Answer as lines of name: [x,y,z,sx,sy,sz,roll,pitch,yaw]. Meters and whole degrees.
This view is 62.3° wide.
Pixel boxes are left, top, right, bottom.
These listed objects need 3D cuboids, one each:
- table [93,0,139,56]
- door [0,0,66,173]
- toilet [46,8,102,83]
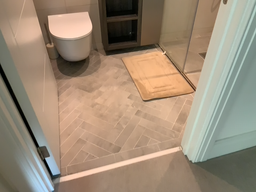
table: [-0.140,-0.860,2.200,0.360,0.680,0.480,-11,44,-12]
door: [-0.510,-0.580,0.880,0.050,2.020,0.870,-11,44,-12]
toilet: [-0.500,-0.480,1.970,0.390,0.440,0.490,-12,44,-11]
